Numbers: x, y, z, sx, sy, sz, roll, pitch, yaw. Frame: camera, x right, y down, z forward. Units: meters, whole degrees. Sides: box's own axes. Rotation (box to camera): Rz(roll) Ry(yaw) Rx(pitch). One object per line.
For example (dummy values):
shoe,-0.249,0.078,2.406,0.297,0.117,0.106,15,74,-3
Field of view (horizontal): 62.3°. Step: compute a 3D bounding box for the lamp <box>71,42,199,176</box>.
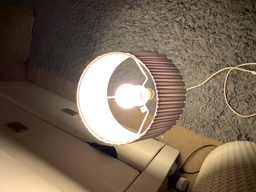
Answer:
lamp,0.070,0.010,0.720,0.220,0.470,0.260,20,101,21
